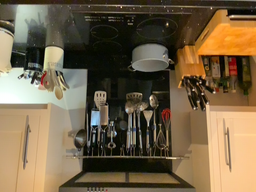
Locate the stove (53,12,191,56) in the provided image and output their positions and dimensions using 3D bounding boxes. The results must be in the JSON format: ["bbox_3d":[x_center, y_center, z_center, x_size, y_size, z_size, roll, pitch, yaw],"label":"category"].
[{"bbox_3d":[-0.030,-0.350,1.300,0.670,0.010,0.540,0,169,0],"label":"stove"}]
